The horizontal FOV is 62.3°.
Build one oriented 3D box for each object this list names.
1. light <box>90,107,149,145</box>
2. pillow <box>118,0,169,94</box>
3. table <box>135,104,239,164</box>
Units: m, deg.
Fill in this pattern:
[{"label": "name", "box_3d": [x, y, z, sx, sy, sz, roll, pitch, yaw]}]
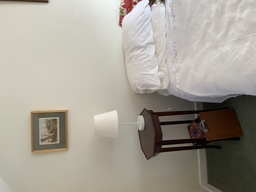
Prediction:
[{"label": "light", "box_3d": [-0.080, 0.230, 1.720, 0.260, 0.420, 0.240, 180, 87, -75]}, {"label": "pillow", "box_3d": [0.110, -0.370, 1.770, 0.440, 0.280, 0.680, -173, 81, -75]}, {"label": "table", "box_3d": [0.470, 0.280, 1.780, 0.390, 0.720, 0.380, 173, 95, -75]}]
